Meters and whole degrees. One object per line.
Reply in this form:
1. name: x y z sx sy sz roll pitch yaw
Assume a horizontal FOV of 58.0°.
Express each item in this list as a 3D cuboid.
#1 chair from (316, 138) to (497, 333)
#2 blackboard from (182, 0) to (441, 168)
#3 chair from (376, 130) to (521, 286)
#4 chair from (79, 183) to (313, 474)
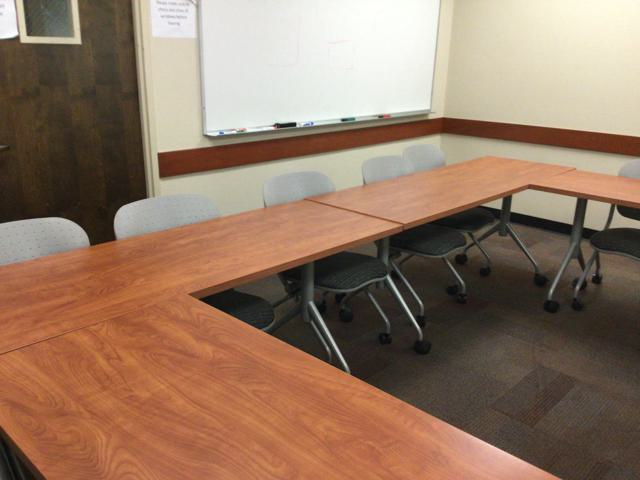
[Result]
1. chair: 0.470 -0.080 3.150 0.680 0.810 0.660 15 25 41
2. blackboard: 0.130 -1.400 3.980 0.120 1.270 2.370 15 29 41
3. chair: 0.760 -0.230 3.470 0.620 0.740 0.560 15 25 41
4. chair: -0.470 0.280 2.270 0.690 0.840 0.510 15 25 41
